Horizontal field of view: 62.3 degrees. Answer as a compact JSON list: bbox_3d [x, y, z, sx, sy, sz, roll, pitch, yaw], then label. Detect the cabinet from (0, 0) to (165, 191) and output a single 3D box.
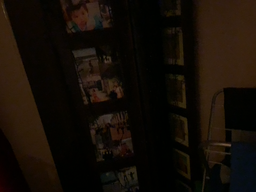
[{"bbox_3d":[-0.120,0.230,1.400,0.320,1.890,0.760,4,23,32],"label":"cabinet"}]
